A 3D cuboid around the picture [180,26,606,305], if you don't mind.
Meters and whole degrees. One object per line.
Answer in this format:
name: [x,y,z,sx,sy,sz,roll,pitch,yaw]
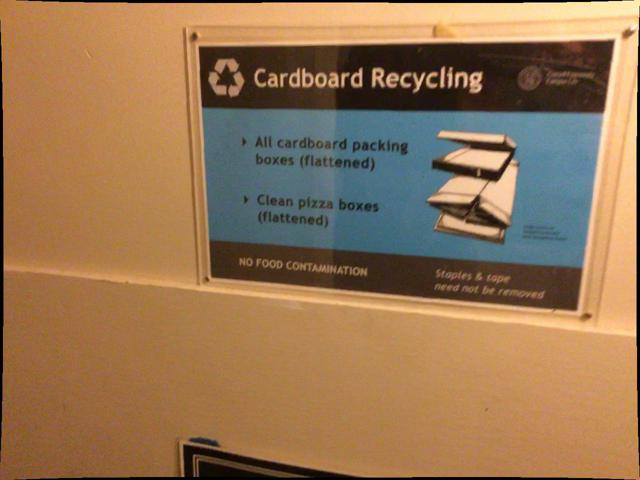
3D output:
picture: [0.060,-0.080,0.640,0.440,0.280,0.020,3,17,15]
